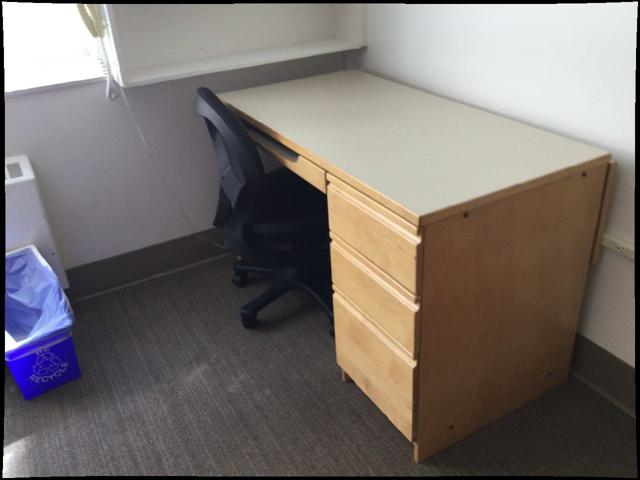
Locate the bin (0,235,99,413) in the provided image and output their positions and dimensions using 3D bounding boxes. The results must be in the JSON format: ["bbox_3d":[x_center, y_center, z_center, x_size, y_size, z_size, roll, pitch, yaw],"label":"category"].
[{"bbox_3d":[-0.979,0.260,1.940,0.300,0.330,0.440,-19,34,-23],"label":"bin"}]

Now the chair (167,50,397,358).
[{"bbox_3d":[-0.120,-0.160,2.070,0.540,0.831,0.580,-19,34,-23],"label":"chair"}]
